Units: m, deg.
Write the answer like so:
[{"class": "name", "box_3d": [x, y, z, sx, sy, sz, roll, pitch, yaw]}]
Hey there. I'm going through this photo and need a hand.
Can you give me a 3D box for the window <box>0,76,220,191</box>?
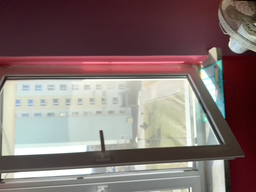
[{"class": "window", "box_3d": [-0.120, 1.070, 1.340, 0.180, 1.500, 2.420, 126, 142, -77]}]
